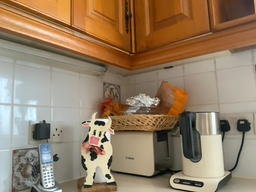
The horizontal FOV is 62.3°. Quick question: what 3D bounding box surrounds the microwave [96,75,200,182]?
[{"bbox_3d":[0.080,0.150,1.030,0.410,0.400,0.260,-9,-10,41],"label":"microwave"}]
